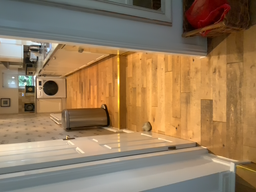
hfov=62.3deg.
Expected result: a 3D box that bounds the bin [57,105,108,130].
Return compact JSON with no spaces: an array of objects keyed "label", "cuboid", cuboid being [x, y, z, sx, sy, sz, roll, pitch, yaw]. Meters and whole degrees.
[{"label":"bin","cuboid":[-0.730,0.320,3.410,0.410,0.720,0.330,0,90,63]}]
